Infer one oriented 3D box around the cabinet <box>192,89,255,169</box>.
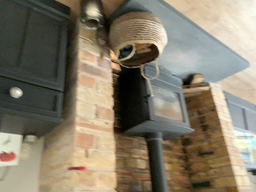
[{"bbox_3d":[1.400,0.480,2.770,1.010,0.840,0.410,16,147,-36],"label":"cabinet"}]
